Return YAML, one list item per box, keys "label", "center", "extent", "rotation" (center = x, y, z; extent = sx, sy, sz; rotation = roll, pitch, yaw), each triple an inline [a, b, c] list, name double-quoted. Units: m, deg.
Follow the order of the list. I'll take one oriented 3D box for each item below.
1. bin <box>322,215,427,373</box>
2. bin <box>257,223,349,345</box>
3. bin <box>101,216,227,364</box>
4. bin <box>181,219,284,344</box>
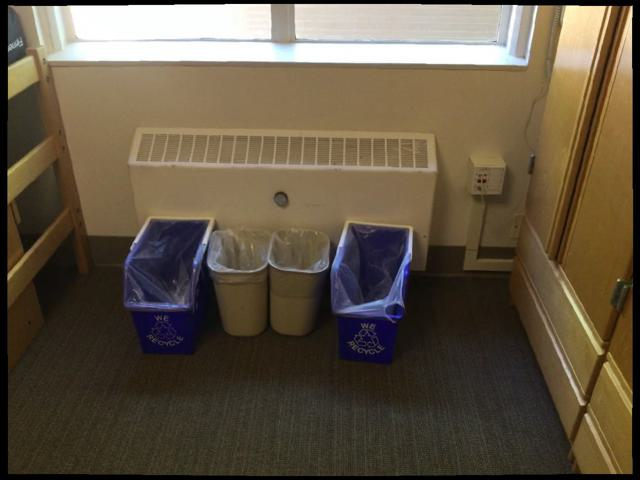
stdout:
- label: "bin"
  center: [0.190, 0.180, 2.110]
  extent: [0.329, 0.340, 0.480]
  rotation: [2, 32, 4]
- label: "bin"
  center: [-0.050, 0.160, 2.160]
  extent: [0.299, 0.320, 0.310]
  rotation: [2, 32, 4]
- label: "bin"
  center: [-0.549, 0.170, 2.130]
  extent: [0.289, 0.340, 0.430]
  rotation: [2, 32, 4]
- label: "bin"
  center: [-0.309, 0.150, 2.170]
  extent: [0.299, 0.330, 0.320]
  rotation: [2, 32, 4]
